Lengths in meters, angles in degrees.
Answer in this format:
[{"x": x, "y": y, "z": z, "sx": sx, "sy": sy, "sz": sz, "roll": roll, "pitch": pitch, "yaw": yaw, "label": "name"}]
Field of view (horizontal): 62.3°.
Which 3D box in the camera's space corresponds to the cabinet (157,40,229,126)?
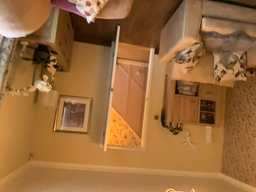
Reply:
[{"x": 1.230, "y": -0.210, "z": 4.040, "sx": 1.150, "sy": 1.440, "sz": 0.430, "roll": 6, "pitch": 174, "yaw": -9, "label": "cabinet"}]
